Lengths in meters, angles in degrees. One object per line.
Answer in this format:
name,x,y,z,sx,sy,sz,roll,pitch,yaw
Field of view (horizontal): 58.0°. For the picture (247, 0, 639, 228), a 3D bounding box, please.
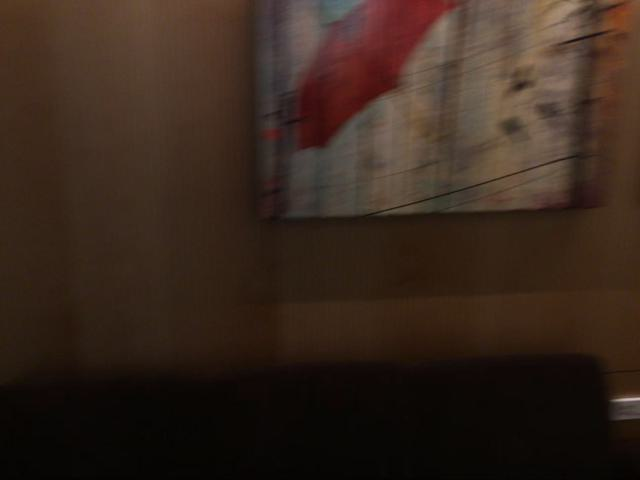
picture,0.320,-0.380,1.520,1.000,0.680,0.100,-1,12,-2
